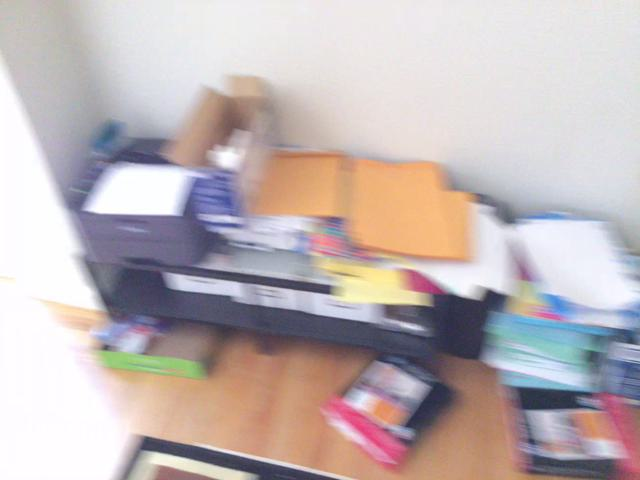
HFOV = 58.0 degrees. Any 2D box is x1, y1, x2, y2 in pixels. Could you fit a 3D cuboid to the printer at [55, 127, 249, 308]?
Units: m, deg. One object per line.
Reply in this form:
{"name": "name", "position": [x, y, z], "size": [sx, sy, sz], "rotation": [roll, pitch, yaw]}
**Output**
{"name": "printer", "position": [-0.440, -0.070, 1.620], "size": [0.360, 0.350, 0.310], "rotation": [8, 39, 12]}

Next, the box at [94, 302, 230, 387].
{"name": "box", "position": [-0.470, 0.310, 1.750], "size": [0.330, 0.070, 0.220], "rotation": [6, 38, 10]}
